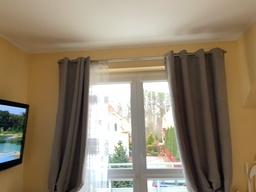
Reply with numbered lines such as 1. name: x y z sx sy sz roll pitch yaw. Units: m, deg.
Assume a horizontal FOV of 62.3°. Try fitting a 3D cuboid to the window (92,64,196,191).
1. window: 0.190 0.800 2.760 1.260 2.410 0.230 -2 -8 2
